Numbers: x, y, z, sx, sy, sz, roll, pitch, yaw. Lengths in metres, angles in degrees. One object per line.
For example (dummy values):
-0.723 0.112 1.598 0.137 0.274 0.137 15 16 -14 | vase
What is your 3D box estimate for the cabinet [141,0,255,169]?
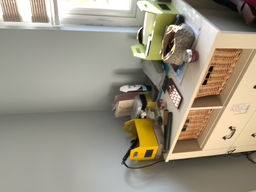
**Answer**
0.640 -0.070 1.450 0.570 0.840 0.970 -107 20 -48 | cabinet
